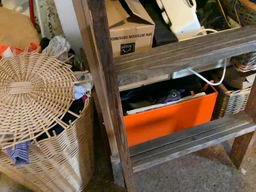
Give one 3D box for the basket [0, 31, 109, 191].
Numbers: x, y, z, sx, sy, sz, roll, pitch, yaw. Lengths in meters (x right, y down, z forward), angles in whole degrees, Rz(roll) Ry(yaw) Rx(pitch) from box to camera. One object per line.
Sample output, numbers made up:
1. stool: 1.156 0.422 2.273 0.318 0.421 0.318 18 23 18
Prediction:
1. basket: -0.370 0.160 0.950 0.450 0.630 0.540 -10 45 -4
